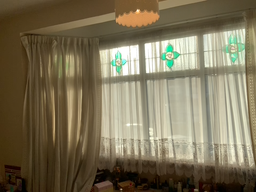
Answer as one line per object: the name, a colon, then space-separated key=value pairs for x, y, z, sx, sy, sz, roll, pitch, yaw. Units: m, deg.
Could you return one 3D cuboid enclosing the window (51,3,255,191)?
window: x=0.210 y=0.180 z=2.220 sx=2.230 sy=1.720 sz=0.320 roll=-3 pitch=1 yaw=25
